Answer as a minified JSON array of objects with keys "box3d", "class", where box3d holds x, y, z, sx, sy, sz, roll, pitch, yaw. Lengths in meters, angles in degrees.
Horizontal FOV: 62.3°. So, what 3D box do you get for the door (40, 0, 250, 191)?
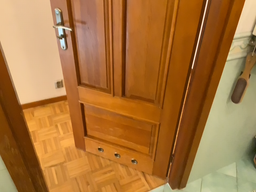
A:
[{"box3d":[-0.010,-0.260,1.100,0.980,2.140,0.070,16,37,17],"class":"door"}]
